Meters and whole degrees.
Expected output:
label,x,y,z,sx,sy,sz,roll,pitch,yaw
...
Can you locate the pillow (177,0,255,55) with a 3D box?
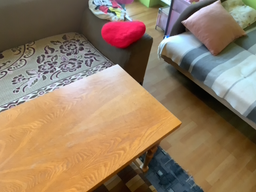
label,x,y,z,sx,sy,sz,roll,pitch,yaw
pillow,0.890,-0.710,2.100,0.720,0.200,0.400,-31,58,-32
